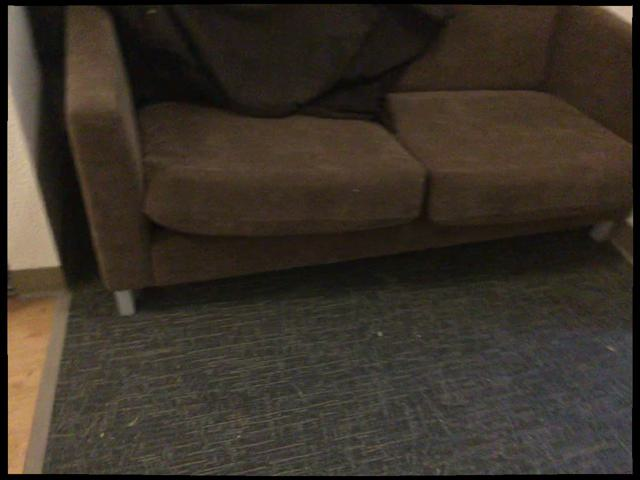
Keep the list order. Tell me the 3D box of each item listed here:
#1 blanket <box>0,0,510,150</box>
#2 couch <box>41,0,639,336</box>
[{"bbox_3d":[-0.180,-0.691,1.690,1.298,0.551,0.540,-6,44,-14],"label":"blanket"},{"bbox_3d":[0.160,-0.411,1.800,1.677,0.691,0.941,-6,44,-14],"label":"couch"}]
